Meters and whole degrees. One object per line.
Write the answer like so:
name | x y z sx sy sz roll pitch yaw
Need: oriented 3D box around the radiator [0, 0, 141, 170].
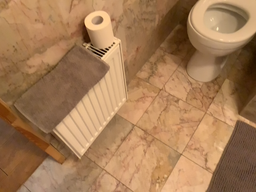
radiator | -0.150 0.010 0.960 0.170 0.730 0.470 32 66 20

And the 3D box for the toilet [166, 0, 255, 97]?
toilet | 0.570 -0.510 1.180 0.360 0.780 0.640 30 65 19
